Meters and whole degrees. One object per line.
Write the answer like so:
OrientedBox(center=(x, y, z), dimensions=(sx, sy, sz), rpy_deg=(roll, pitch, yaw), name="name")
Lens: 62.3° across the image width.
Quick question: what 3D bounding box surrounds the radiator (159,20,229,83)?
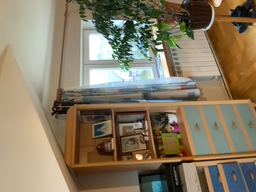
OrientedBox(center=(0.890, -0.650, 2.980), dimensions=(0.140, 0.750, 0.980), rpy_deg=(102, 164, -62), name="radiator")
